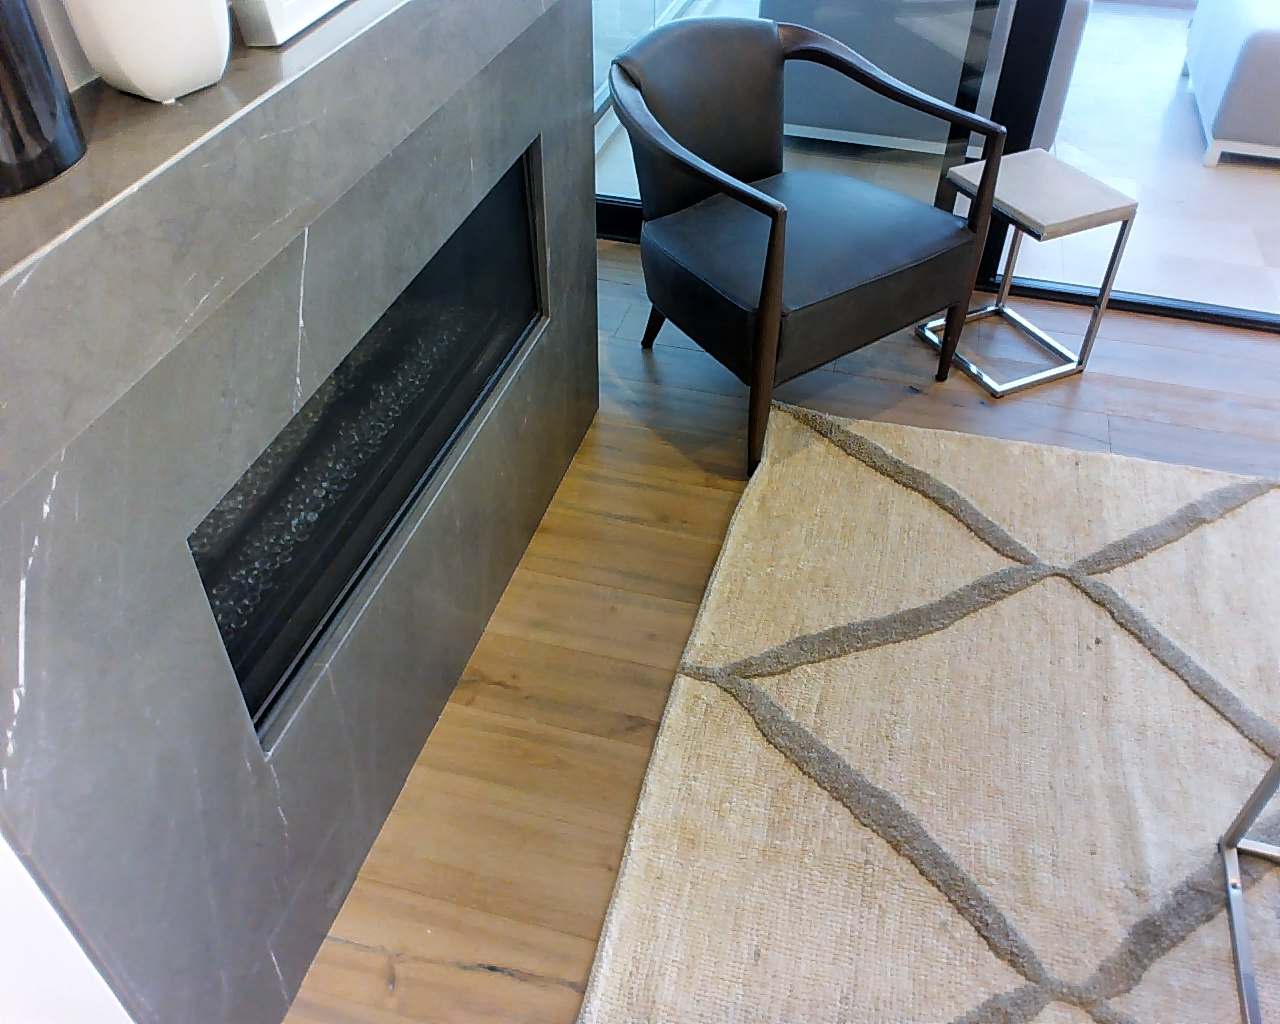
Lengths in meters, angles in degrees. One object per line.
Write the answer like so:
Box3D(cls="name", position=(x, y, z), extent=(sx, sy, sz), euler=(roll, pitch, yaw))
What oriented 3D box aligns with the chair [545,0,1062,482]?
Box3D(cls="chair", position=(0.340, -0.730, 2.620), extent=(0.780, 0.770, 0.820), euler=(-28, 50, -29))
